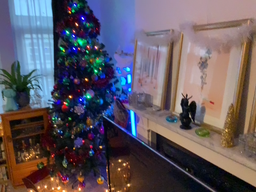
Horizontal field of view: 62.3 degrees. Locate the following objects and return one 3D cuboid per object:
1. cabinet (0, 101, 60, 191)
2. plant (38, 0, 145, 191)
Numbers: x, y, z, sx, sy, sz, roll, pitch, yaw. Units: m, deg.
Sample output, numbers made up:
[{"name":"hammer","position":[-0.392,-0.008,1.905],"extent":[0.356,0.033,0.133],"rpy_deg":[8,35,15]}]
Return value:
[{"name":"cabinet","position":[-1.250,0.590,2.720],"extent":[0.540,0.900,0.550],"rpy_deg":[-8,14,-28]},{"name":"plant","position":[-0.390,-0.050,2.420],"extent":[0.900,2.250,0.760],"rpy_deg":[-8,14,-28]}]
